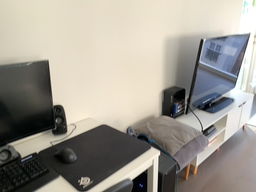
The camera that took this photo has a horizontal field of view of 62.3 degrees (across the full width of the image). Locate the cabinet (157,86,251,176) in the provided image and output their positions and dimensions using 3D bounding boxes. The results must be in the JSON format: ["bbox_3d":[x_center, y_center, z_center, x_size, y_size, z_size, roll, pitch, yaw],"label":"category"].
[{"bbox_3d":[0.960,0.300,2.520,0.450,0.490,1.420,16,25,41],"label":"cabinet"}]
